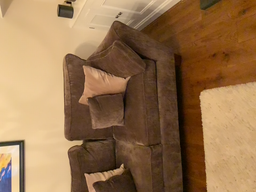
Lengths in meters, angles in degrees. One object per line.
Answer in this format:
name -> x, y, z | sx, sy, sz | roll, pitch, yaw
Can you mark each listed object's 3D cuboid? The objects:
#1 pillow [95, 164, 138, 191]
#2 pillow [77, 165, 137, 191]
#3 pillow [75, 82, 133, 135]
pillow -> -0.100, 0.810, 1.850 | 0.140, 0.350, 0.350 | 97, 168, -50
pillow -> -0.190, 0.900, 1.980 | 0.200, 0.510, 0.440 | 12, -108, -70
pillow -> -0.230, 0.120, 2.050 | 0.380, 0.430, 0.160 | 70, -161, 2
